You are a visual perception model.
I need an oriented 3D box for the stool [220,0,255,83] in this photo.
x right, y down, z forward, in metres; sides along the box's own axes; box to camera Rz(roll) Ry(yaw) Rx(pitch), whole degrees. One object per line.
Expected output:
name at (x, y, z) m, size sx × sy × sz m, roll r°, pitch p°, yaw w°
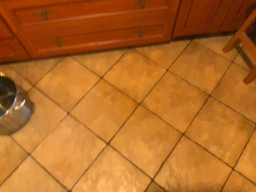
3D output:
stool at (0.810, -0.330, 1.200) m, size 0.330 × 0.470 × 0.320 m, roll -2°, pitch 66°, yaw -1°
